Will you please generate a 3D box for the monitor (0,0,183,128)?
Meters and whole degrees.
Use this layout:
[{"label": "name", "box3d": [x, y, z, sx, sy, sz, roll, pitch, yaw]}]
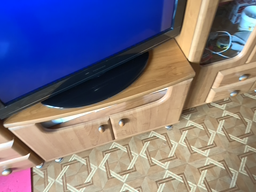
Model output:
[{"label": "monitor", "box3d": [-0.140, -0.230, 0.670, 0.800, 0.530, 0.040, -28, 58, -16]}]
